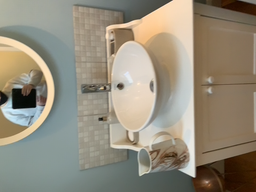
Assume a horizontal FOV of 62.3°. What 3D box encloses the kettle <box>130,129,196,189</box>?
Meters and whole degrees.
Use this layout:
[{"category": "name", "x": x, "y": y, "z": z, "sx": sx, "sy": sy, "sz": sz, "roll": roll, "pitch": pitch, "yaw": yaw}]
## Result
[{"category": "kettle", "x": 0.140, "y": 0.240, "z": 0.860, "sx": 0.150, "sy": 0.210, "sz": 0.160, "roll": 3, "pitch": 96, "yaw": 62}]
